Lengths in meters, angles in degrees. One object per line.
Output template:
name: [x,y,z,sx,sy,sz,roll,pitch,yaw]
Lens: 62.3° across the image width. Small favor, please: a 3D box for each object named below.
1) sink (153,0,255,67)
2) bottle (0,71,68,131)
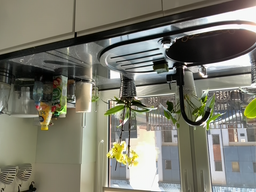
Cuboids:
sink: [0.360,-0.290,0.970,0.390,0.150,0.400,-5,168,21]
bottle: [-0.600,0.050,1.320,0.380,0.310,0.210,-6,167,25]
